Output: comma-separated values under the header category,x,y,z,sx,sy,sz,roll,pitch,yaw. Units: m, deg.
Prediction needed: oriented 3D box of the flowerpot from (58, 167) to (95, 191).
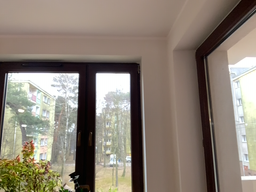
category,x,y,z,sx,sy,sz,roll,pitch,yaw
flowerpot,-0.440,0.870,1.840,0.230,0.450,0.320,-1,-11,2

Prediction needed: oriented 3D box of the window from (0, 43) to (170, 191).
category,x,y,z,sx,sy,sz,roll,pitch,yaw
window,-0.500,0.390,2.140,1.730,1.750,0.390,0,-11,-5
